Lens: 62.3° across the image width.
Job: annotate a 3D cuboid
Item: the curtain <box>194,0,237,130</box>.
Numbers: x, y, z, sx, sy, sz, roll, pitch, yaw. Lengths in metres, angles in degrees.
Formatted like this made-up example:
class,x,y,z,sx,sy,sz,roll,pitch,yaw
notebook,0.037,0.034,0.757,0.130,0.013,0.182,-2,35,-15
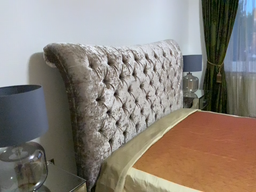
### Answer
class,x,y,z,sx,sy,sz,roll,pitch,yaw
curtain,1.320,-0.560,3.270,0.530,2.150,0.180,6,16,34
